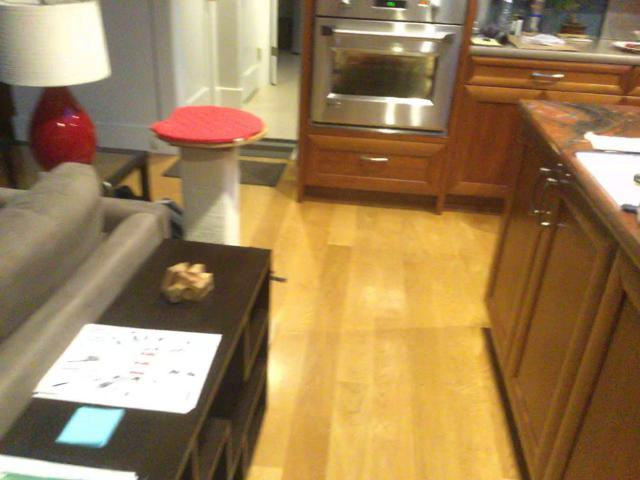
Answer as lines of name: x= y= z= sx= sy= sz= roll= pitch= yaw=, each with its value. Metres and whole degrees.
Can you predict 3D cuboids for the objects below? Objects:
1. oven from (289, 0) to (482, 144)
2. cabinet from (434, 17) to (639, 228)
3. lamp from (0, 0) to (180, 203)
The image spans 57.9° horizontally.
oven: x=0.290 y=-0.900 z=2.770 sx=0.840 sy=0.760 sz=0.280 roll=5 pitch=29 yaw=6
cabinet: x=1.290 y=-0.550 z=2.840 sx=1.320 sy=0.940 sz=0.190 roll=5 pitch=29 yaw=6
lamp: x=-0.770 y=-0.500 z=1.800 sx=0.450 sy=0.560 sz=0.530 roll=5 pitch=29 yaw=6
